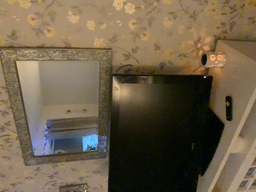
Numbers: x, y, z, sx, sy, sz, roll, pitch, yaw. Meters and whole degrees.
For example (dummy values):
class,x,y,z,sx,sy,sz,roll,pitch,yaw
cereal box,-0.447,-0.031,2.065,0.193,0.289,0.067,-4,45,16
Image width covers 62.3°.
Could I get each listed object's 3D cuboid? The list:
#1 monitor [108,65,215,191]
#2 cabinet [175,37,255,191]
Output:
class,x,y,z,sx,sy,sz,roll,pitch,yaw
monitor,0.200,0.290,1.370,0.060,0.640,0.960,-133,44,-72
cabinet,0.860,0.190,1.510,0.480,0.690,1.060,-111,23,-57
